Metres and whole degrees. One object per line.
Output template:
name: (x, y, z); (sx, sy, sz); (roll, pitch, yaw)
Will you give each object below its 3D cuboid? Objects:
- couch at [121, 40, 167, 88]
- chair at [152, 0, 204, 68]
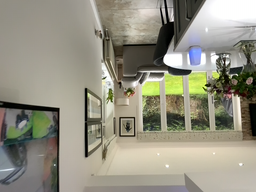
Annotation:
couch: (0.290, -0.650, 4.680); (0.870, 0.810, 1.120); (0, 174, -2)
chair: (0.600, -0.840, 2.710); (0.520, 0.860, 0.520); (-1, 174, 1)
